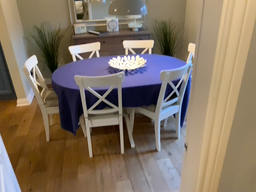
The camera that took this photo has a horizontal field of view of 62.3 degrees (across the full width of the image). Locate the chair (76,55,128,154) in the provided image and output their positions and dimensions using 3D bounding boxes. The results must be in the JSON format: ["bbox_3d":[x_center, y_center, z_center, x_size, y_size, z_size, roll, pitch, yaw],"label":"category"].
[{"bbox_3d":[-0.250,0.080,2.200,0.420,0.870,0.470,-5,27,-7],"label":"chair"}]

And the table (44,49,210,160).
[{"bbox_3d":[-0.060,-0.020,2.570,1.530,0.710,1.130,-7,27,-10],"label":"table"}]
